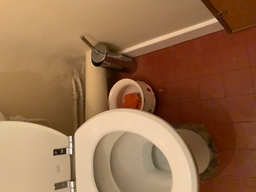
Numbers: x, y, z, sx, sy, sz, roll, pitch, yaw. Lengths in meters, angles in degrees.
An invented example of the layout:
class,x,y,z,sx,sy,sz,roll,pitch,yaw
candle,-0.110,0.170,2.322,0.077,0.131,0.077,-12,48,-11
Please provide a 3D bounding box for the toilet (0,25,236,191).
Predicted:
class,x,y,z,sx,sy,sz,roll,pitch,yaw
toilet,-0.170,0.240,0.700,0.740,0.900,0.490,-10,81,38
